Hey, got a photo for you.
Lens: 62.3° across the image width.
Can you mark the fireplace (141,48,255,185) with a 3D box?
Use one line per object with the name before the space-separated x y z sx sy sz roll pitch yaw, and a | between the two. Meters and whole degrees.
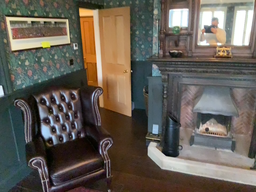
fireplace | 1.170 0.130 2.670 1.780 1.300 1.110 5 19 18
